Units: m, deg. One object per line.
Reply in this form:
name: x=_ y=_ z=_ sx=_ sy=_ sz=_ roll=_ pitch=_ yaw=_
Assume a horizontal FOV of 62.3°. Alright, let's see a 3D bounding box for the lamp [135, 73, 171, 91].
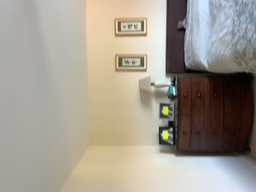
lamp: x=0.400 y=-0.230 z=3.450 sx=0.260 sy=0.550 sz=0.280 roll=-84 pitch=-6 yaw=-84
